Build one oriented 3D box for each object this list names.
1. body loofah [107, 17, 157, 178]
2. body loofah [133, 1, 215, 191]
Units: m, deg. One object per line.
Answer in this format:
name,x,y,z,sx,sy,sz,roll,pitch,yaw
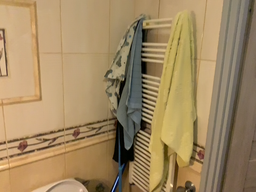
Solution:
body loofah,0.010,0.020,1.430,0.200,1.010,0.210,-9,18,-37
body loofah,0.220,0.150,1.190,0.220,1.210,0.270,-10,19,-40
